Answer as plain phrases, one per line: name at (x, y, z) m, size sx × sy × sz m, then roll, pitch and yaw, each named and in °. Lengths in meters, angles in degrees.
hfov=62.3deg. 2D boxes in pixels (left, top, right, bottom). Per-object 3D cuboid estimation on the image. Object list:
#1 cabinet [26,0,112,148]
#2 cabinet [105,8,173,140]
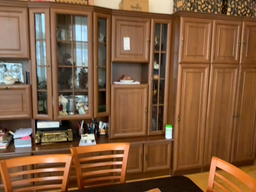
cabinet at (-0.680, -0.250, 2.590) m, size 0.890 × 1.600 × 0.440 m, roll -1°, pitch 10°, yaw -16°
cabinet at (0.120, -0.270, 2.860) m, size 0.790 × 1.600 × 0.360 m, roll -1°, pitch 10°, yaw -16°
